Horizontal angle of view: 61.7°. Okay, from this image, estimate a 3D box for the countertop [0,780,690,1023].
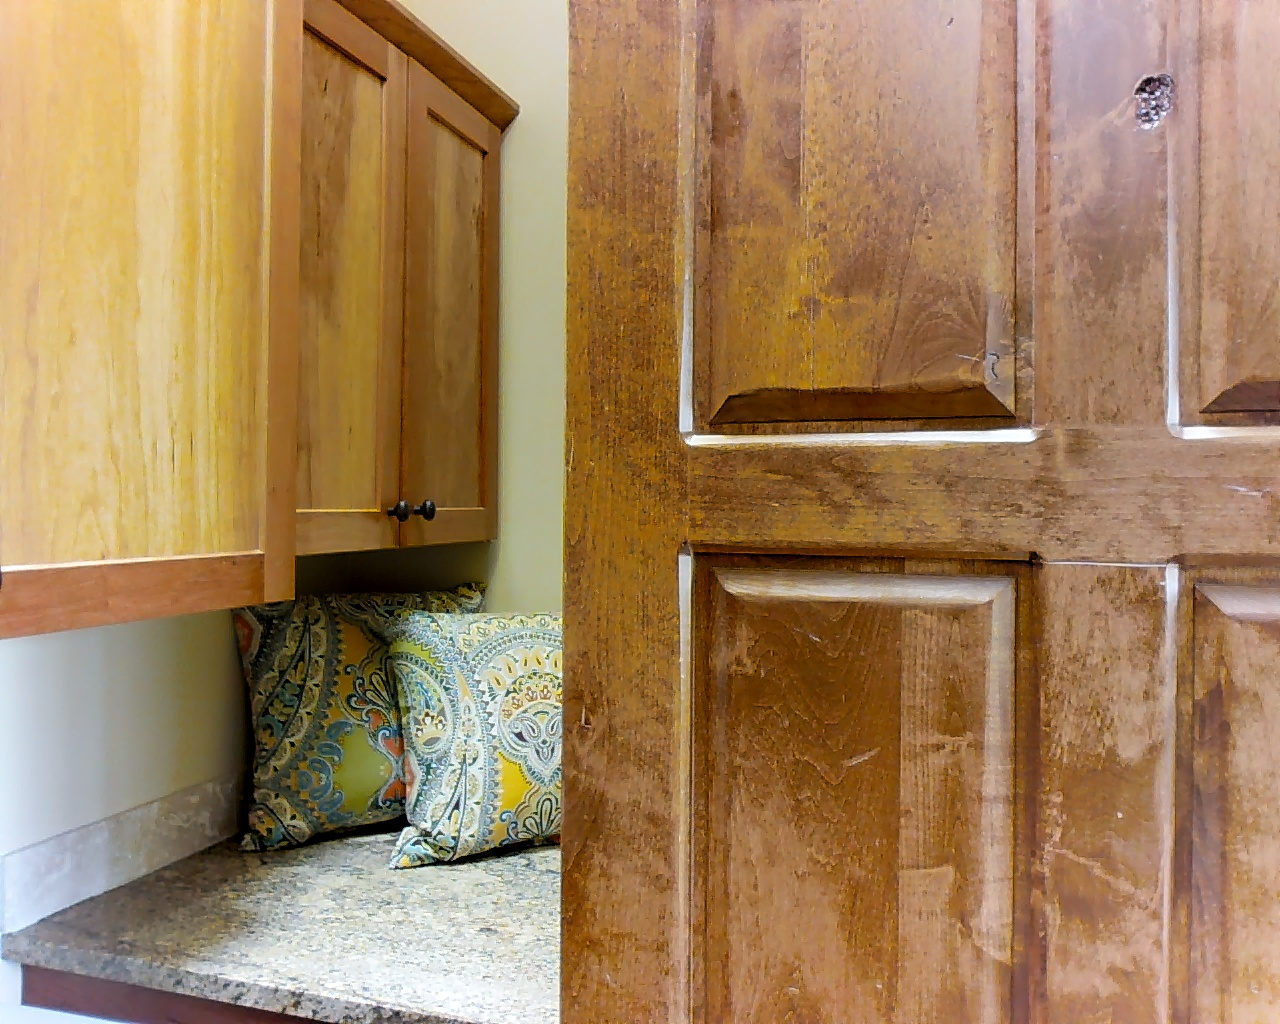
[{"bbox_3d":[-0.360,0.560,1.420,0.730,0.210,0.560,1,0,18],"label":"countertop"}]
